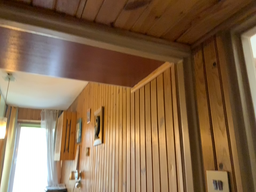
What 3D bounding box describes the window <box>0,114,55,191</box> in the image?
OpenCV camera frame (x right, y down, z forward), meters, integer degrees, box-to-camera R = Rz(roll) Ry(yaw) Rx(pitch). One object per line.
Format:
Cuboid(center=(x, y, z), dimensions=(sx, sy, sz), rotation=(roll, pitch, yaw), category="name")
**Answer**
Cuboid(center=(-1.760, 1.160, 3.790), dimensions=(0.720, 1.590, 0.260), rotation=(6, -17, -17), category="window")
